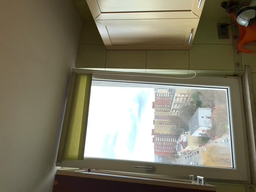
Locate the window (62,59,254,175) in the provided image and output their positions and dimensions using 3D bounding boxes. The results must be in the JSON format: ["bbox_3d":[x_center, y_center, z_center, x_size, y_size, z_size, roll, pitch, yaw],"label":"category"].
[{"bbox_3d":[0.210,0.130,1.670,0.180,1.320,0.810,71,-157,-72],"label":"window"}]

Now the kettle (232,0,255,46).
[{"bbox_3d":[0.970,-0.580,1.620,0.240,0.230,0.310,69,-156,-73],"label":"kettle"}]
